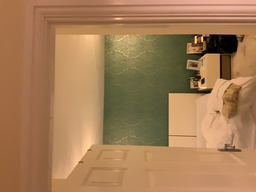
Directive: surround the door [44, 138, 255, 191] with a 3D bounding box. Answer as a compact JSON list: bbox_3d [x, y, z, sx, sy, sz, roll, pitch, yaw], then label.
[{"bbox_3d":[0.650,0.410,1.230,0.860,2.000,0.040,-67,-22,-84],"label":"door"}]
